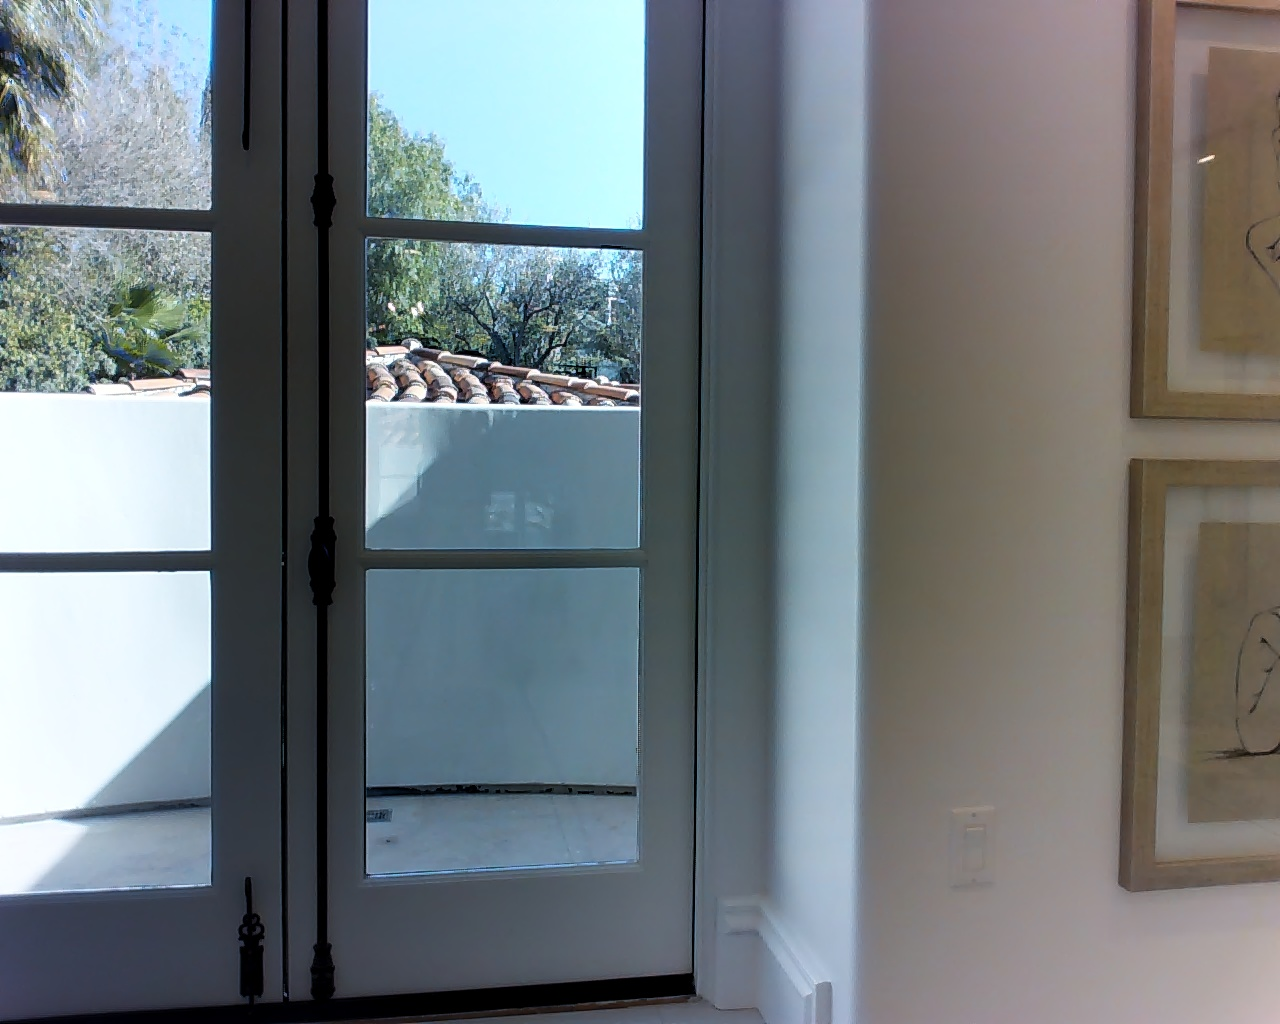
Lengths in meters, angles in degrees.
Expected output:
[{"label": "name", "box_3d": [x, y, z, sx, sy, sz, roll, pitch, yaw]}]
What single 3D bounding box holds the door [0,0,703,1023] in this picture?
[{"label": "door", "box_3d": [-0.620, -0.130, 1.910, 1.470, 2.091, 0.060, 0, 1, -10]}]
